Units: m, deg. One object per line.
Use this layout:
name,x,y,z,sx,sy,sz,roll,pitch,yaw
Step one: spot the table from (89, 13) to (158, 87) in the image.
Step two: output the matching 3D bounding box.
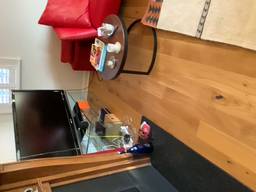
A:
table,-0.090,-0.510,2.290,0.660,0.380,0.650,33,118,52
